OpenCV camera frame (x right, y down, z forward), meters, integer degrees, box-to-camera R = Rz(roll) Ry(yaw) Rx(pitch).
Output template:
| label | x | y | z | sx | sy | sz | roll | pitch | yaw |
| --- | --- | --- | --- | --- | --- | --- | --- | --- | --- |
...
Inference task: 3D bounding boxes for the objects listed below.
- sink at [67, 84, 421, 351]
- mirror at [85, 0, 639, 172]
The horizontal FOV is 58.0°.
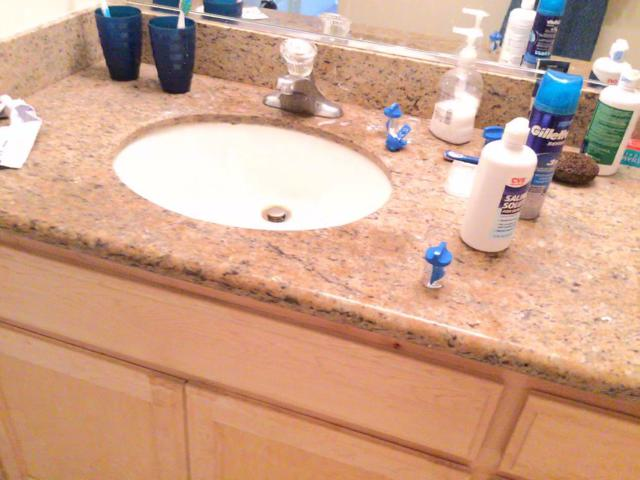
| label | x | y | z | sx | sy | sz | roll | pitch | yaw |
| --- | --- | --- | --- | --- | --- | --- | --- | --- | --- |
| sink | -0.090 | -0.070 | 0.930 | 0.420 | 0.180 | 0.380 | 15 | 33 | 11 |
| mirror | 0.100 | -0.430 | 1.020 | 1.090 | 0.370 | 0.150 | 15 | 33 | 11 |
